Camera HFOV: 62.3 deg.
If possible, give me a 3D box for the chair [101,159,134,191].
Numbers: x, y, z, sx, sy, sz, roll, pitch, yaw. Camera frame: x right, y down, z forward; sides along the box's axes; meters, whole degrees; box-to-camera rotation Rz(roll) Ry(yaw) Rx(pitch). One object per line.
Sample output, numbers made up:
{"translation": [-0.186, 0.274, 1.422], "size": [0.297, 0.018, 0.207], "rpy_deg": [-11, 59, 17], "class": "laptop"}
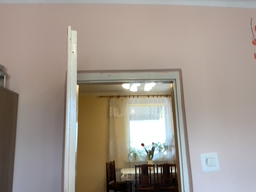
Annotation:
{"translation": [-0.240, 1.950, 4.850], "size": [0.600, 0.920, 0.460], "rpy_deg": [-8, -12, 32], "class": "chair"}
